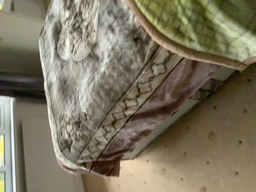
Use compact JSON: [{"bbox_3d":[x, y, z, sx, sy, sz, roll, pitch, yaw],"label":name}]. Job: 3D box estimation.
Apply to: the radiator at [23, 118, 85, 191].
[{"bbox_3d":[-0.940,0.710,2.620,0.070,0.570,1.040,-54,47,33],"label":"radiator"}]
